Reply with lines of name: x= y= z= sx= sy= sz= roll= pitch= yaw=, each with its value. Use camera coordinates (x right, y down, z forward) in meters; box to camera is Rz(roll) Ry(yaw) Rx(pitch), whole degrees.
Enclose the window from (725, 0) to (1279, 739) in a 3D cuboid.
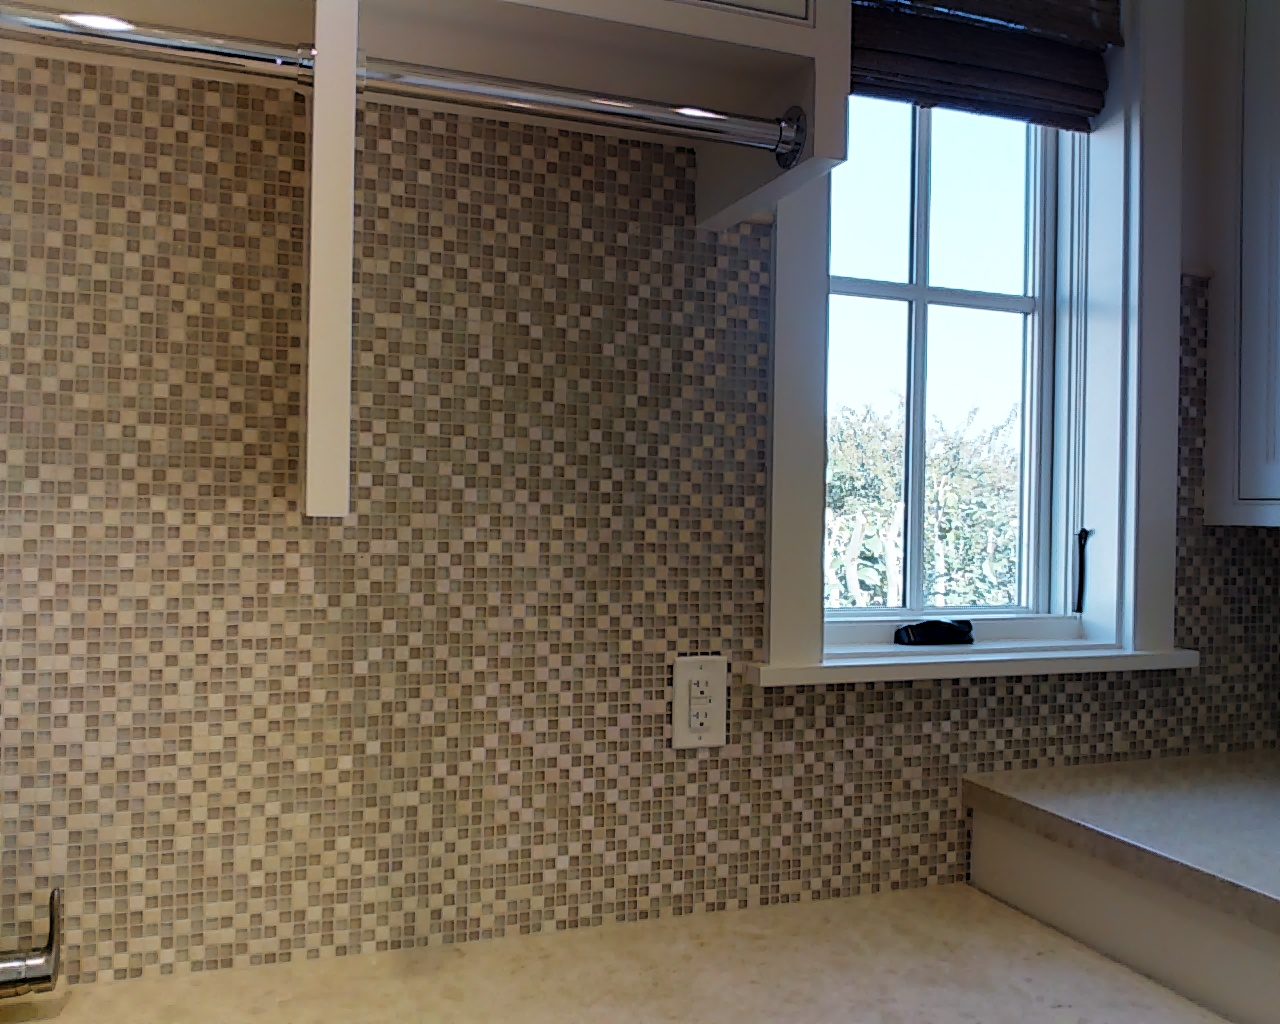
window: x=0.580 y=-0.450 z=1.620 sx=0.860 sy=1.501 sz=0.210 roll=1 pitch=0 yaw=-20
